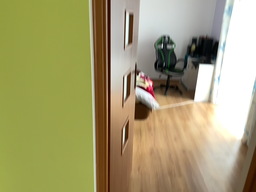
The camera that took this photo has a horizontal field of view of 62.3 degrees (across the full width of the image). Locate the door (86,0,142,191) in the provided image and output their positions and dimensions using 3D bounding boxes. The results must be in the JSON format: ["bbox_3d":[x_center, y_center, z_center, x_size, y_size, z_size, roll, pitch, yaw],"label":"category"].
[{"bbox_3d":[-0.060,0.000,1.530,0.130,2.080,0.910,6,21,9],"label":"door"}]

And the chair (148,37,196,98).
[{"bbox_3d":[0.950,-0.680,4.830,0.680,1.210,0.740,-5,22,-18],"label":"chair"}]
